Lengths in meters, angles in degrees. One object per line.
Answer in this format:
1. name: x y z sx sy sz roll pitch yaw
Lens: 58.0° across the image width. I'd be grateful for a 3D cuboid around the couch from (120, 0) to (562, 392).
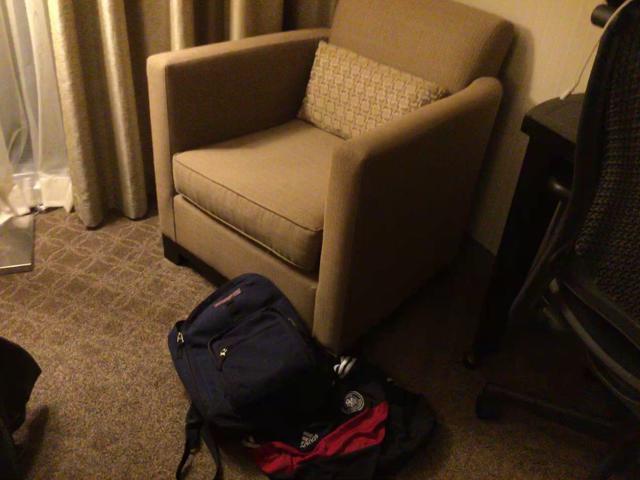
1. couch: 0.050 -0.280 1.770 0.830 0.840 0.870 27 38 35
